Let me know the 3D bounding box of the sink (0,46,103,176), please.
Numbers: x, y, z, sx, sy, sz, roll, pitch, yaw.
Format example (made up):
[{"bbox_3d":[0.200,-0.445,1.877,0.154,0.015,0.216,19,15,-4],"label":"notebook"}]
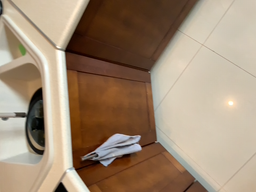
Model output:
[{"bbox_3d":[-0.430,0.080,1.000,0.540,0.260,0.460,-8,85,32],"label":"sink"}]

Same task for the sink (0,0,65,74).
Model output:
[{"bbox_3d":[-0.520,-0.260,1.000,0.450,0.160,0.230,-8,85,32],"label":"sink"}]
